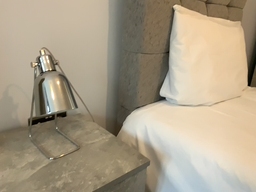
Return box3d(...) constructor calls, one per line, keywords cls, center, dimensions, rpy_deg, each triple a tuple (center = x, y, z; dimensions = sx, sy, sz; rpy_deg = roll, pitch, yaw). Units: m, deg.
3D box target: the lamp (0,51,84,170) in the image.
box3d(cls="lamp", center=(-0.270, 0.020, 0.660), dimensions=(0.160, 0.280, 0.240), rpy_deg=(-14, 26, -41))
